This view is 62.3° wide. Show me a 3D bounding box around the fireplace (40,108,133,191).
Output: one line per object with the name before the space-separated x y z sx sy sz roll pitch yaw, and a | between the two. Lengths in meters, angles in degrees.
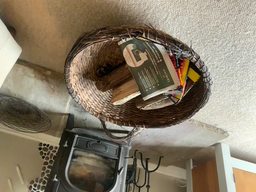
fireplace | -0.320 0.520 1.580 0.480 0.560 0.520 20 142 -15

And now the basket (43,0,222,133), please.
basket | 0.070 -0.080 1.060 0.620 0.190 0.740 -1 142 13
